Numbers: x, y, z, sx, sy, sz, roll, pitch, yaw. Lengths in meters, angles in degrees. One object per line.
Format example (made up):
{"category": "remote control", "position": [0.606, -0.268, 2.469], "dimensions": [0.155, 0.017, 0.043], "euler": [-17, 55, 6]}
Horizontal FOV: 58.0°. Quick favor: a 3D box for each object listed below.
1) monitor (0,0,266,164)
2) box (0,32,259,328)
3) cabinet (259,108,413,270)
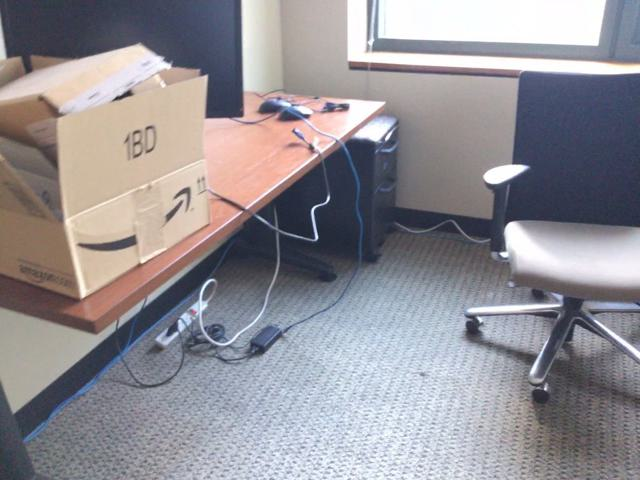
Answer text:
{"category": "monitor", "position": [-0.460, -0.460, 1.440], "dimensions": [0.570, 0.390, 0.110], "euler": [-17, 28, -13]}
{"category": "box", "position": [-0.570, -0.160, 1.170], "dimensions": [0.680, 0.390, 0.500], "euler": [4, 25, 25]}
{"category": "cabinet", "position": [0.100, -0.250, 2.630], "dimensions": [0.500, 0.580, 0.480], "euler": [4, 25, 25]}
